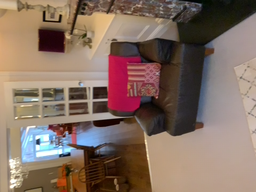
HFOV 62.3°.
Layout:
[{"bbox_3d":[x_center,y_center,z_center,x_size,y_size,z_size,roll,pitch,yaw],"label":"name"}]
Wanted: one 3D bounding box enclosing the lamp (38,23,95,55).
[{"bbox_3d":[-0.920,-0.830,3.160,0.270,0.760,0.340,152,112,-65],"label":"lamp"}]
